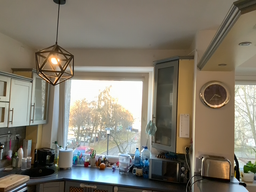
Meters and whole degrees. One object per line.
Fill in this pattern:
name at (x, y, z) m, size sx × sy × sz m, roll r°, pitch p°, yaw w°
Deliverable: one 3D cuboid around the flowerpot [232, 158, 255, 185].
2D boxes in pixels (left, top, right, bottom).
flowerpot at (1.570, 1.000, 2.830) m, size 0.270 × 0.260 × 0.240 m, roll 2°, pitch -4°, yaw 11°
